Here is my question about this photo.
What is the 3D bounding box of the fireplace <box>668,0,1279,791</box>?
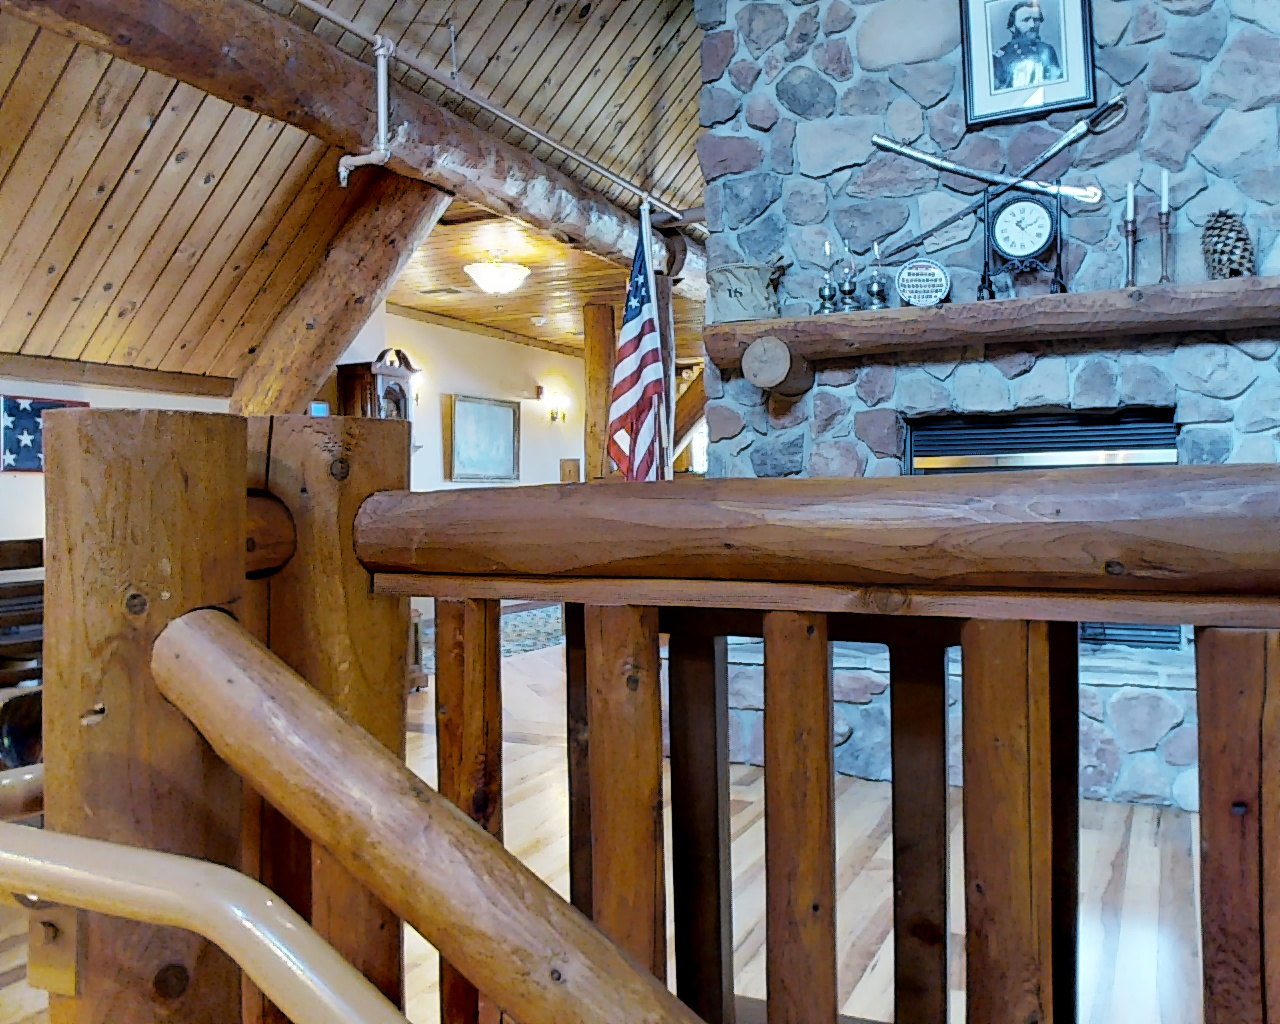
[{"bbox_3d":[1.670,-0.860,4.470,2.969,3.661,0.870,0,1,26],"label":"fireplace"}]

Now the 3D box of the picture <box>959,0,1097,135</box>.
[{"bbox_3d":[1.490,-1.800,4.150,0.490,0.600,0.060,0,1,26],"label":"picture"}]
